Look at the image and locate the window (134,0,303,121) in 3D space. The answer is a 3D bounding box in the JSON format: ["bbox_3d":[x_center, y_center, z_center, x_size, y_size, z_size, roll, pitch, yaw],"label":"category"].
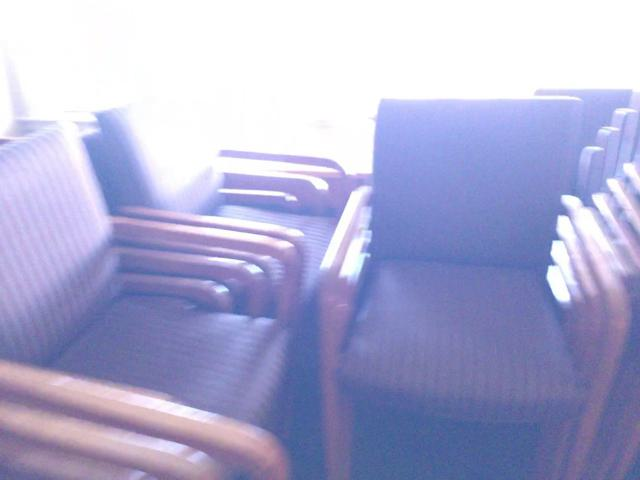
[{"bbox_3d":[-0.430,-0.840,2.590,0.640,0.540,0.320,3,23,10],"label":"window"}]

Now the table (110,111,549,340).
[{"bbox_3d":[0.060,-0.130,2.350,1.450,0.630,0.770,3,23,10],"label":"table"}]

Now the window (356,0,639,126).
[{"bbox_3d":[0.770,-0.830,2.410,1.190,0.610,0.410,3,23,10],"label":"window"}]
